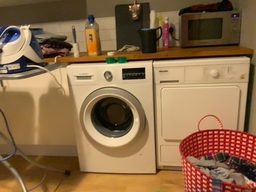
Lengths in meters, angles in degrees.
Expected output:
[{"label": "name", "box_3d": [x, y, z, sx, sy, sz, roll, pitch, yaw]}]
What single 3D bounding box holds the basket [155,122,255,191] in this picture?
[{"label": "basket", "box_3d": [0.460, 0.480, 1.180, 0.440, 0.430, 0.550, -7, 17, -13]}]
